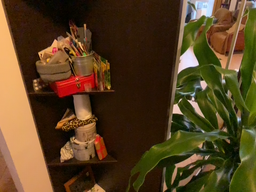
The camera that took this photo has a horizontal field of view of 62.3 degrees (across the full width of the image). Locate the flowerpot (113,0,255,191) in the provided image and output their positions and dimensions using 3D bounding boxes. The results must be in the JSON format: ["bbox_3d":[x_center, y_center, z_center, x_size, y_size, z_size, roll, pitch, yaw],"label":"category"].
[{"bbox_3d":[0.590,0.420,0.900,0.820,1.440,0.950,27,40,37],"label":"flowerpot"}]
